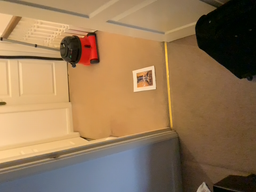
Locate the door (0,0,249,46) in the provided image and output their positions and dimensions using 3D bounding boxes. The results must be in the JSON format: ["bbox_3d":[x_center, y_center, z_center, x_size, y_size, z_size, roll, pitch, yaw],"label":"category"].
[{"bbox_3d":[-0.280,-0.400,0.900,0.690,2.010,0.040,1,93,51],"label":"door"}]
